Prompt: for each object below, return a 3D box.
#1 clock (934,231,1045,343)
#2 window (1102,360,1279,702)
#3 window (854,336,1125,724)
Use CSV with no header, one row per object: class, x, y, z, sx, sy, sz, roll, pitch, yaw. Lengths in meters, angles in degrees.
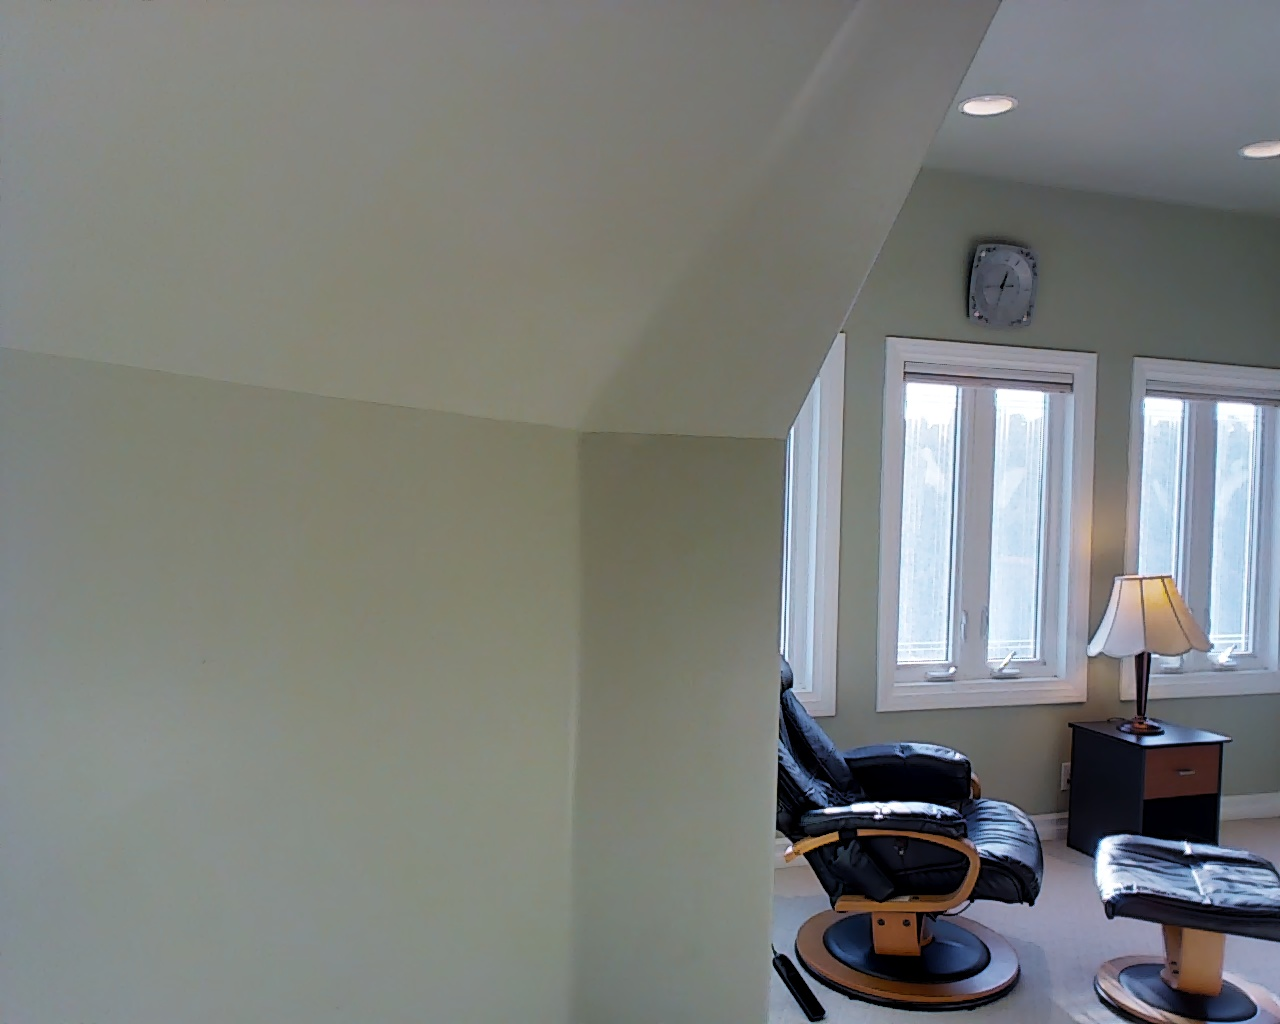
clock,1.380,-0.880,4.220,0.460,0.390,0.060,1,1,-19
window,2.510,0.090,4.700,1.010,1.430,0.140,1,1,-19
window,1.430,0.080,4.340,1.150,1.480,0.140,1,1,-19
